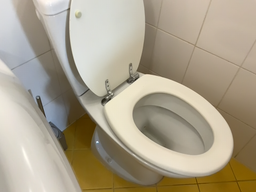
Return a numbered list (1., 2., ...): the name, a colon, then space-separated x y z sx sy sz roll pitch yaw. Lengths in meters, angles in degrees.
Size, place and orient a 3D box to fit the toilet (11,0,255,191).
1. toilet: 0.050 -0.010 0.820 0.720 0.830 0.430 34 53 22
